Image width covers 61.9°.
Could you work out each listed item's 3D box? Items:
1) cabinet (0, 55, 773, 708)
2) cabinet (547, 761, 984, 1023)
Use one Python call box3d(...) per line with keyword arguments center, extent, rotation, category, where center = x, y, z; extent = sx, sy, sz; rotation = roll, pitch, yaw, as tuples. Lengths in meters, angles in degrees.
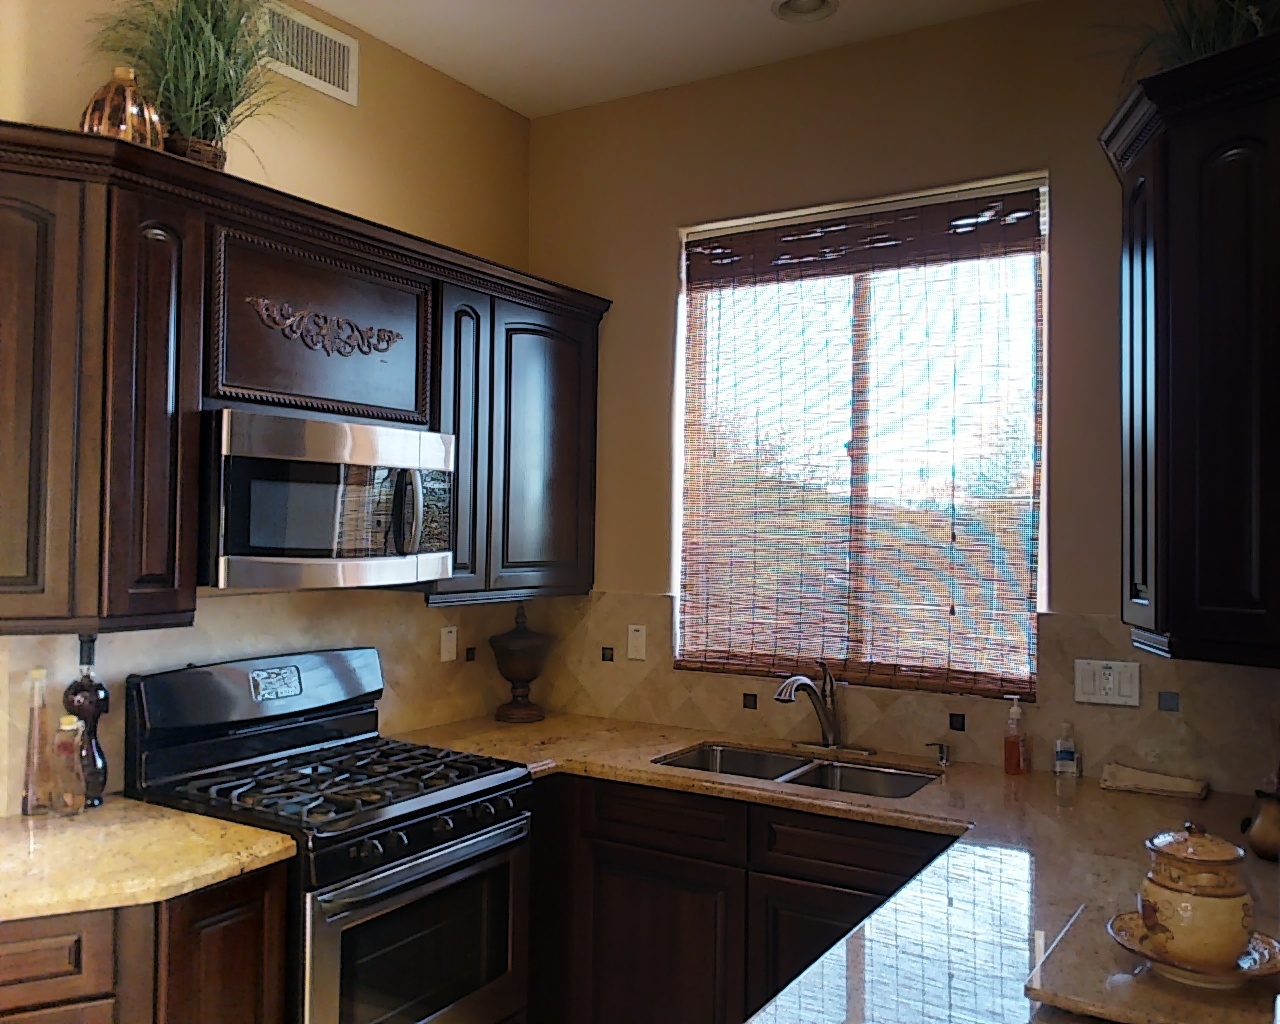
box3d(center=(-1.580, -0.250, 2.540), extent=(3.820, 1.270, 1.140), rotation=(0, -1, -29), category="cabinet")
box3d(center=(0.270, 1.100, 2.710), extent=(1.150, 0.790, 0.100), rotation=(0, -1, 29), category="cabinet")
